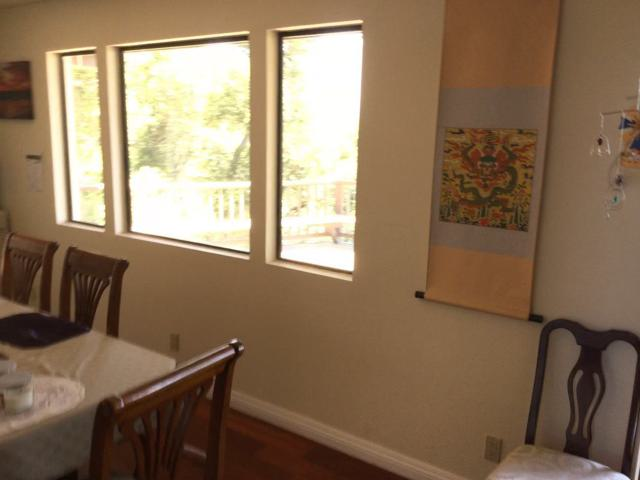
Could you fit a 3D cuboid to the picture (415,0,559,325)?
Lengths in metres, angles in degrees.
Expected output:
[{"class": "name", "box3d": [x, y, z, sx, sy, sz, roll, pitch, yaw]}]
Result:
[{"class": "picture", "box3d": [0.640, -0.310, 2.280, 0.450, 1.220, 0.100, 8, 10, 34]}]
